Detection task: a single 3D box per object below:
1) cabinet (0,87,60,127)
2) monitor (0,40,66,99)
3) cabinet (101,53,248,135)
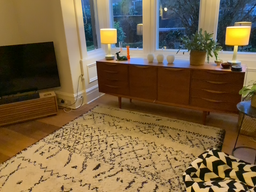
[{"bbox_3d":[-1.690,0.170,3.220,1.150,0.340,0.400,-12,23,-25],"label":"cabinet"},{"bbox_3d":[-1.660,-0.380,3.110,1.350,0.770,0.090,-11,23,-22],"label":"monitor"},{"bbox_3d":[0.570,-0.140,3.140,1.980,0.790,0.500,11,25,30],"label":"cabinet"}]
